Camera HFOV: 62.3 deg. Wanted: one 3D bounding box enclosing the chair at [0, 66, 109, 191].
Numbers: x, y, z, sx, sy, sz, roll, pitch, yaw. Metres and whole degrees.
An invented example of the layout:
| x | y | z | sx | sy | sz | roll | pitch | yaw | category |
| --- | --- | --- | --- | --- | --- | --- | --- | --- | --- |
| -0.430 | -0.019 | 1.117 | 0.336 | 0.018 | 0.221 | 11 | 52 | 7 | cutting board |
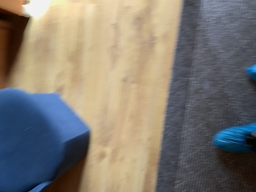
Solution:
| x | y | z | sx | sy | sz | roll | pitch | yaw | category |
| --- | --- | --- | --- | --- | --- | --- | --- | --- | --- |
| -0.530 | 0.230 | 0.870 | 0.510 | 0.700 | 0.490 | -36 | 85 | 15 | chair |
